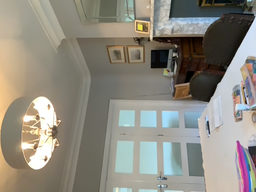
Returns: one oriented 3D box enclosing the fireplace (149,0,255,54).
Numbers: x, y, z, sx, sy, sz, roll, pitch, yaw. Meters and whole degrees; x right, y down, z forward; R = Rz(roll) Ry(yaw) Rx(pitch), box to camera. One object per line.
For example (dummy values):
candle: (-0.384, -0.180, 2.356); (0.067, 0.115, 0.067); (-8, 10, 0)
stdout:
fireplace: (0.860, -1.170, 2.340); (1.560, 1.220, 0.480); (82, -171, -61)
